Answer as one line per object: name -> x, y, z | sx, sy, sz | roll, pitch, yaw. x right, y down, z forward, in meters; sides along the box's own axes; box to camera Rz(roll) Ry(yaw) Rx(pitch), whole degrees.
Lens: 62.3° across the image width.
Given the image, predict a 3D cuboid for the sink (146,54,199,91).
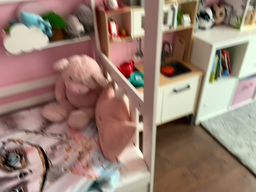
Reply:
sink -> 0.350, -0.200, 1.730 | 0.280, 0.110, 0.320 | -16, 38, -19
